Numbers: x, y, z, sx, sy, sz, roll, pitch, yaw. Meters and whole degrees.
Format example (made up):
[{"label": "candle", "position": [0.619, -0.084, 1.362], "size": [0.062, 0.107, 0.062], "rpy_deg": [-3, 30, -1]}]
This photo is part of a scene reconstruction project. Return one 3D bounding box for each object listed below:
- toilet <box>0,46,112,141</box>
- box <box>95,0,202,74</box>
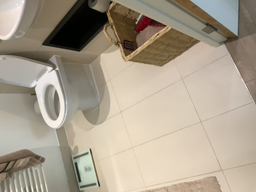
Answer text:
[{"label": "toilet", "position": [-0.630, -0.010, 1.680], "size": [0.380, 0.850, 0.530], "rpy_deg": [-30, 72, 37]}, {"label": "box", "position": [0.120, -0.430, 1.300], "size": [0.380, 0.380, 0.430], "rpy_deg": [-34, 70, 36]}]
